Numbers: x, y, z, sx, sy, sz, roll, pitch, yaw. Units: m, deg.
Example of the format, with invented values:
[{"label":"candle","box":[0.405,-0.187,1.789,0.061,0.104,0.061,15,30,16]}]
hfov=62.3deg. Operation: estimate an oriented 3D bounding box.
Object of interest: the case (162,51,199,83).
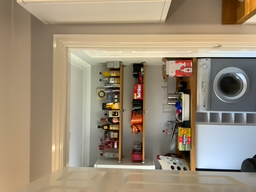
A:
[{"label":"case","box":[0.620,-0.330,2.640,0.790,0.300,0.250,46,-135,-86]}]
